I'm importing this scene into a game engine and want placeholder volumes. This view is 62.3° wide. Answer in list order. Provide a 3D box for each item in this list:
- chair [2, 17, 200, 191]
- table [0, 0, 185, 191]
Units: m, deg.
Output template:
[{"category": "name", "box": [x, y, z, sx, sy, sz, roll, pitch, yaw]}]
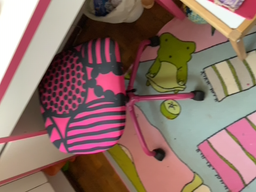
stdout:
[{"category": "chair", "box": [-0.070, 0.090, 0.990, 0.380, 0.650, 0.600, 41, 110, 21]}, {"category": "table", "box": [-0.410, -0.150, 1.010, 0.560, 0.740, 1.120, 46, 112, 19]}]
